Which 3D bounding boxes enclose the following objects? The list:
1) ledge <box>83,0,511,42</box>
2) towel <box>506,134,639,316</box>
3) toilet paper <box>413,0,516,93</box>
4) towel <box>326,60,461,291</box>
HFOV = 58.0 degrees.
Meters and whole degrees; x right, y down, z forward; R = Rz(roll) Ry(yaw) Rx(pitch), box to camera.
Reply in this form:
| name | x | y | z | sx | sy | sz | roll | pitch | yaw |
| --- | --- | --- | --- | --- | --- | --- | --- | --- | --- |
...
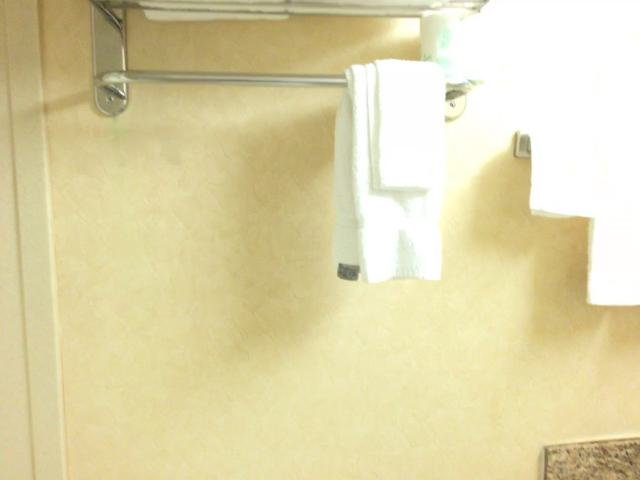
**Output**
| name | x | y | z | sx | sy | sz | roll | pitch | yaw |
| --- | --- | --- | --- | --- | --- | --- | --- | --- | --- |
| ledge | -0.040 | -0.360 | 0.890 | 0.590 | 0.040 | 0.240 | 0 | 8 | -7 |
| towel | 0.520 | -0.030 | 1.050 | 0.320 | 0.310 | 0.100 | 0 | 8 | -7 |
| toilet paper | 0.230 | -0.320 | 0.940 | 0.120 | 0.140 | 0.130 | 0 | 8 | -7 |
| towel | 0.110 | -0.100 | 0.930 | 0.180 | 0.340 | 0.130 | 0 | 8 | -7 |
